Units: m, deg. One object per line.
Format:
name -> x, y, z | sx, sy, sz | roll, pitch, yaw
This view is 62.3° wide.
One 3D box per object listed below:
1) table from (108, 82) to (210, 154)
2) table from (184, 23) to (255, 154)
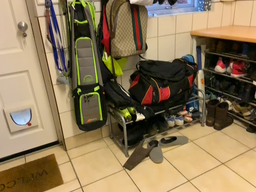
table -> 0.310, 0.170, 2.040 | 0.920, 0.350, 0.320 | -15, 26, -23
table -> 1.080, -0.150, 1.970 | 0.610, 0.900, 0.900 | -15, 26, -24
